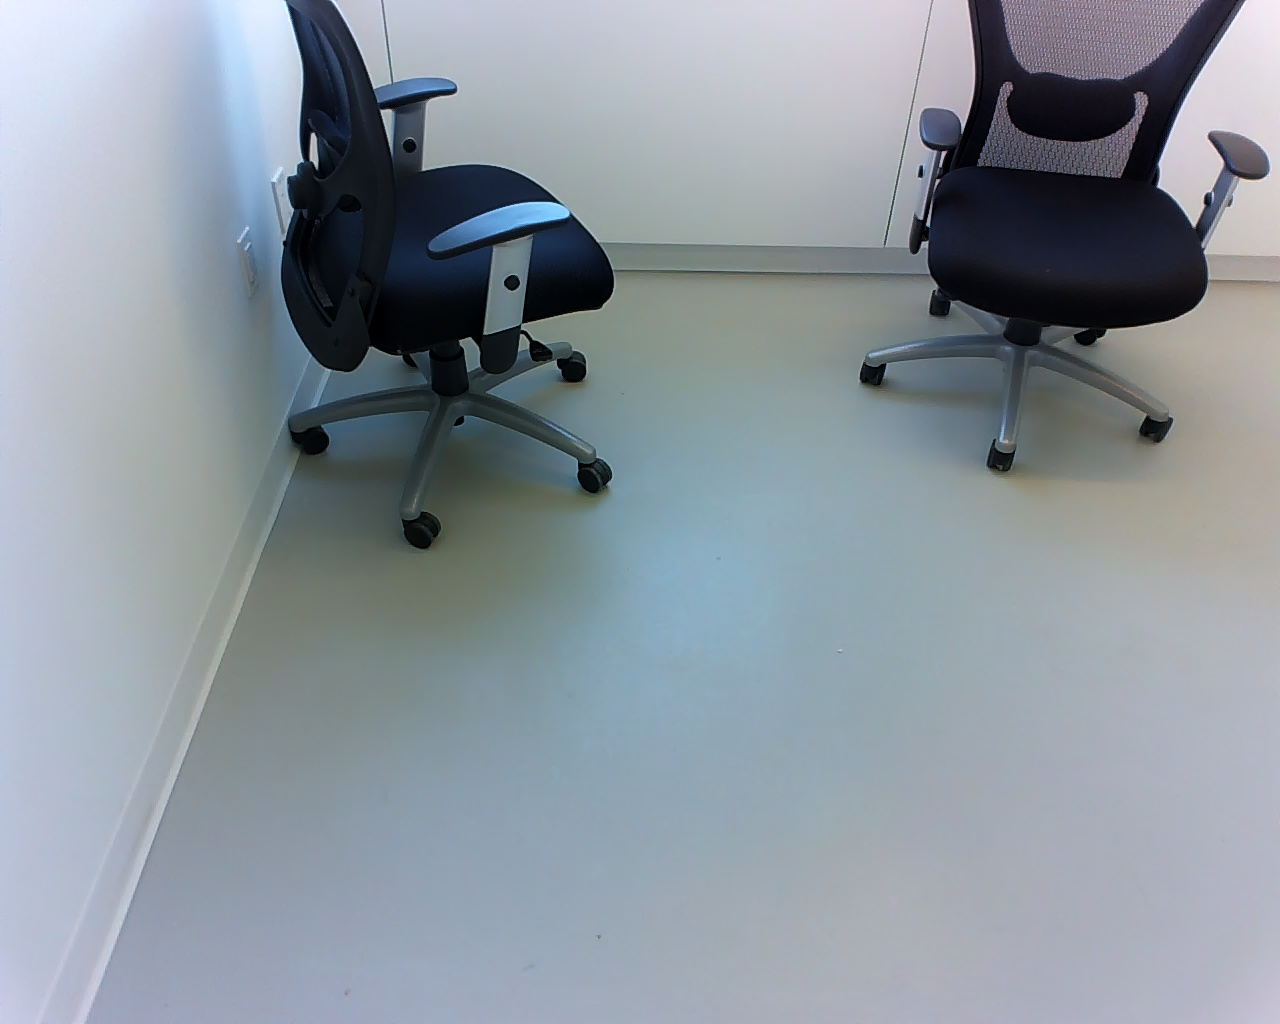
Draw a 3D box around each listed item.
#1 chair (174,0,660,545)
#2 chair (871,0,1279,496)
[{"bbox_3d":[-0.330,-0.470,2.090,0.710,0.840,0.650,1,42,0],"label":"chair"},{"bbox_3d":[0.940,-0.680,2.210,0.700,1.000,0.760,3,42,3],"label":"chair"}]
